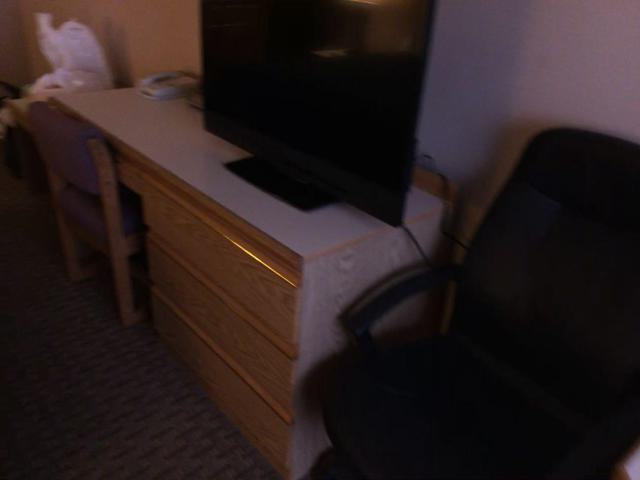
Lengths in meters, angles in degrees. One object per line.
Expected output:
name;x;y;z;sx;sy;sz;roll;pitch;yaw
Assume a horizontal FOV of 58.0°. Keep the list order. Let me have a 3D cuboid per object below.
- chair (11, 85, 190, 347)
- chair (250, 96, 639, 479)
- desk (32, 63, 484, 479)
chair;-0.800;-0.110;2.170;0.390;0.790;0.480;-21;38;-39
chair;0.360;0.310;1.330;0.750;1.030;0.700;-21;38;-39
desk;-0.350;-0.040;2.100;0.640;0.810;1.600;-21;38;-39
